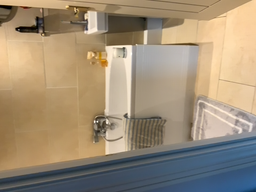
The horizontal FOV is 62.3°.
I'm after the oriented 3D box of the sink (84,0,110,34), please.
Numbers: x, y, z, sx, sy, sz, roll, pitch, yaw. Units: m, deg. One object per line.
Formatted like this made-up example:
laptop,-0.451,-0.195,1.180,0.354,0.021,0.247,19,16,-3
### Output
sink,-0.280,-0.830,1.850,0.430,0.130,0.520,-152,61,-66
